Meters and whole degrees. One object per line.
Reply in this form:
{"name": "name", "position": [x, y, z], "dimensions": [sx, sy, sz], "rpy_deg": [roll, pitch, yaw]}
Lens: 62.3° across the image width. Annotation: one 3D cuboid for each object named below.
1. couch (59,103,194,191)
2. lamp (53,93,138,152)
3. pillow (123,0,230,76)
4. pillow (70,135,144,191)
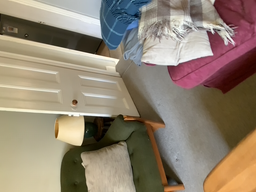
{"name": "couch", "position": [0.000, 1.120, 1.640], "dimensions": [0.890, 0.800, 1.880], "rpy_deg": [-50, 43, 45]}
{"name": "lamp", "position": [-0.380, 0.310, 2.380], "dimensions": [0.400, 0.800, 0.470], "rpy_deg": [-52, 42, 43]}
{"name": "pillow", "position": [0.240, -0.450, 1.240], "dimensions": [0.360, 0.330, 0.500], "rpy_deg": [-49, 44, 45]}
{"name": "pillow", "position": [-0.180, 0.690, 1.850], "dimensions": [0.380, 0.410, 0.440], "rpy_deg": [-50, 12, 45]}
